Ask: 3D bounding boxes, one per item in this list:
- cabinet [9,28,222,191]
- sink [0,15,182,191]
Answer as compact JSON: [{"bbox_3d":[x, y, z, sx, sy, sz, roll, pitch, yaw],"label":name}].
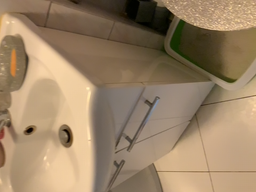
[{"bbox_3d":[0.010,0.080,0.860,0.310,0.730,0.480,39,116,28],"label":"cabinet"},{"bbox_3d":[-0.190,0.140,0.540,0.410,0.170,0.510,39,116,28],"label":"sink"}]
